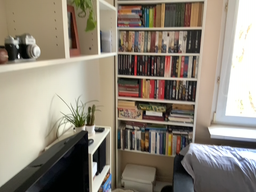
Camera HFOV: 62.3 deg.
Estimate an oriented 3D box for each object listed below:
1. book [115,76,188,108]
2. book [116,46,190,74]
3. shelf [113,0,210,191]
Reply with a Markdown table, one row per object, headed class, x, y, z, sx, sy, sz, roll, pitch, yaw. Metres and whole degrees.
| class | x | y | z | sx | sy | sz | roll | pitch | yaw |
| --- | --- | --- | --- | --- | --- | --- | --- | --- | --- |
| book | 0.230 | -0.050 | 2.160 | 0.700 | 0.260 | 0.160 | 4 | 14 | 12 |
| book | 0.240 | -0.360 | 2.090 | 0.690 | 0.240 | 0.170 | 4 | 14 | 12 |
| shelf | 0.290 | -0.110 | 2.150 | 0.840 | 2.480 | 0.240 | 4 | 14 | 12 |
